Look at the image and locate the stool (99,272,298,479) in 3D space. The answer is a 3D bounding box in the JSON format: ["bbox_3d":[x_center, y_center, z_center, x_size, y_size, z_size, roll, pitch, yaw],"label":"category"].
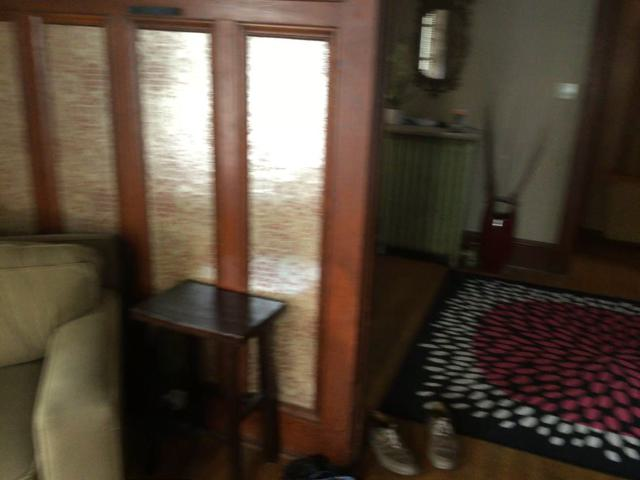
[{"bbox_3d":[-0.410,0.510,2.090,0.560,0.650,0.360,5,18,18],"label":"stool"}]

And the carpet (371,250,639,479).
[{"bbox_3d":[1.600,0.550,3.170,2.070,0.160,2.170,7,18,22],"label":"carpet"}]
